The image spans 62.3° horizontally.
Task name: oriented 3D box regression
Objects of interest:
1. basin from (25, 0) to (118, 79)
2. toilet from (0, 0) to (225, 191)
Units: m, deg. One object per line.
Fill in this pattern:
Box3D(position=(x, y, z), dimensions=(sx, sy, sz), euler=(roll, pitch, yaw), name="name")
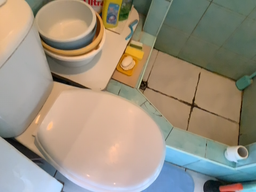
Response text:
Box3D(position=(-0.250, -0.310, 1.020), dimensions=(0.280, 0.180, 0.330), euler=(22, 62, -1), name="basin")
Box3D(position=(-0.210, 0.110, 0.810), dimensions=(0.740, 0.730, 0.370), euler=(23, 62, 0), name="toilet")
